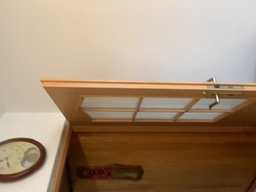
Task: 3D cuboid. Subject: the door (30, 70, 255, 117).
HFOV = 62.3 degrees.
[{"bbox_3d":[0.540,0.040,1.530,0.860,2.100,0.090,113,158,-75],"label":"door"}]
